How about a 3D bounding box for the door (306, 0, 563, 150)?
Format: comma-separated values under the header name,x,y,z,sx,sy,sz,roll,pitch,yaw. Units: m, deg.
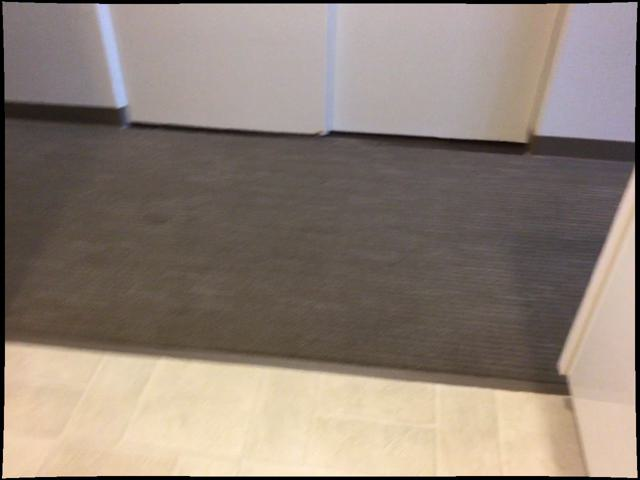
name,x,y,z,sx,sy,sz,roll,pitch,yaw
door,0.419,-0.912,2.170,0.938,1.212,0.080,4,39,5
